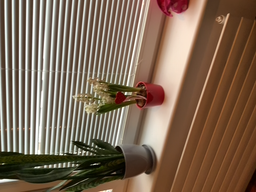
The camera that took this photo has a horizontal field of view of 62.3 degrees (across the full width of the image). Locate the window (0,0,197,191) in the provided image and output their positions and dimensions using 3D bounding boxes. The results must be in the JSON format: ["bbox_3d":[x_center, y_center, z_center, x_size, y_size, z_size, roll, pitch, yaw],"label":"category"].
[{"bbox_3d":[-0.570,0.370,0.950,0.060,1.600,1.820,43,127,56],"label":"window"}]
